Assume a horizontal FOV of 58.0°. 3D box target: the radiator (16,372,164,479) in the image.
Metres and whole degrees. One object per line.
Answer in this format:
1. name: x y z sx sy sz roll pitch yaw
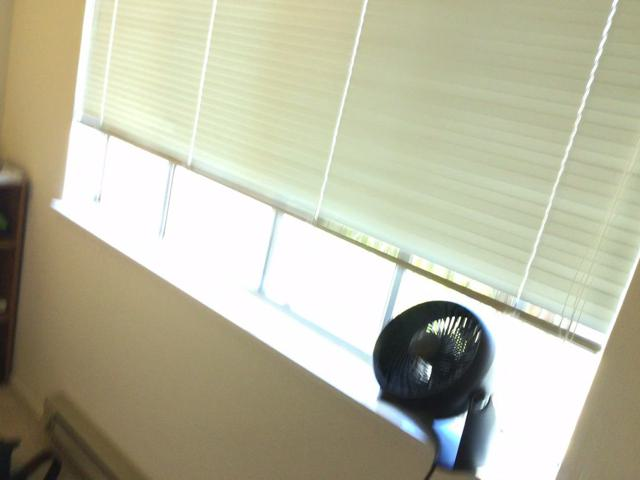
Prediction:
1. radiator: -0.470 0.860 1.710 1.630 0.200 0.100 23 17 35

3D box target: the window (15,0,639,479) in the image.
1. window: -0.130 -0.400 1.410 1.750 1.200 0.310 23 17 35
